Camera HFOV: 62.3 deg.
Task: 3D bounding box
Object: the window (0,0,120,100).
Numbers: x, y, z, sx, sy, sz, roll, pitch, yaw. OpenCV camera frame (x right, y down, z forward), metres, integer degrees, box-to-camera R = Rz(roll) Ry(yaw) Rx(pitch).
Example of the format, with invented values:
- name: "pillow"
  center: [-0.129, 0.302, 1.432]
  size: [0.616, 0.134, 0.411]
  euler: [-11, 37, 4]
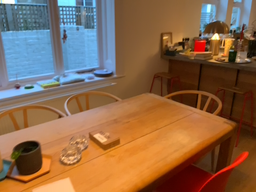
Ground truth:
- name: "window"
  center: [-1.160, -0.850, 2.350]
  size: [2.260, 1.560, 0.540]
  euler: [-15, 25, -36]
